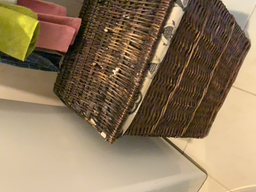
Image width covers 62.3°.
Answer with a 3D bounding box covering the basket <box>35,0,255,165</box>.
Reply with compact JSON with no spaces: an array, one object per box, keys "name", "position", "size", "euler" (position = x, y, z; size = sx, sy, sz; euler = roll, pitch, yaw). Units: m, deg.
[{"name":"basket","position":[0.060,-0.140,0.750],"size":[0.480,0.460,0.520],"euler":[30,102,43]}]
